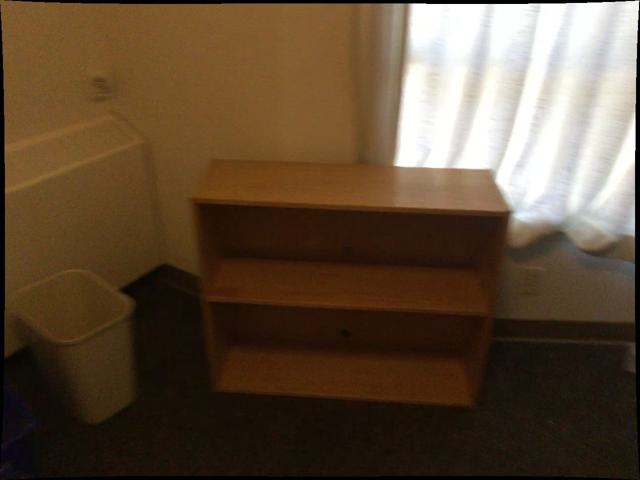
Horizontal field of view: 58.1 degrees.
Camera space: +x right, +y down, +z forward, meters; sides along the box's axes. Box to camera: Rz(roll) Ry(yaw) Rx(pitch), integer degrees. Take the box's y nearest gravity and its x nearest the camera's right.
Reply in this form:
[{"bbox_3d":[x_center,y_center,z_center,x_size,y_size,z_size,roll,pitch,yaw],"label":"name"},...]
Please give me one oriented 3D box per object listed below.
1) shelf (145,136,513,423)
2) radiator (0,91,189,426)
[{"bbox_3d":[0.070,0.160,1.990,0.998,0.781,0.510,-5,38,7],"label":"shelf"},{"bbox_3d":[-0.978,0.030,2.100,0.210,0.781,0.970,15,43,29],"label":"radiator"}]
